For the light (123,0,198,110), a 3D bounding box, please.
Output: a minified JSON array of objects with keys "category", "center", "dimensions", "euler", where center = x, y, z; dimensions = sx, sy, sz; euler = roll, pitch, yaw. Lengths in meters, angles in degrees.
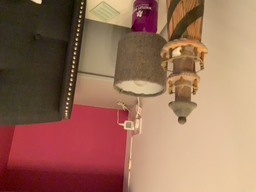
[{"category":"light","center":[0.100,-0.160,0.740],"dimensions":[0.160,0.360,0.240],"euler":[7,164,-13]}]
